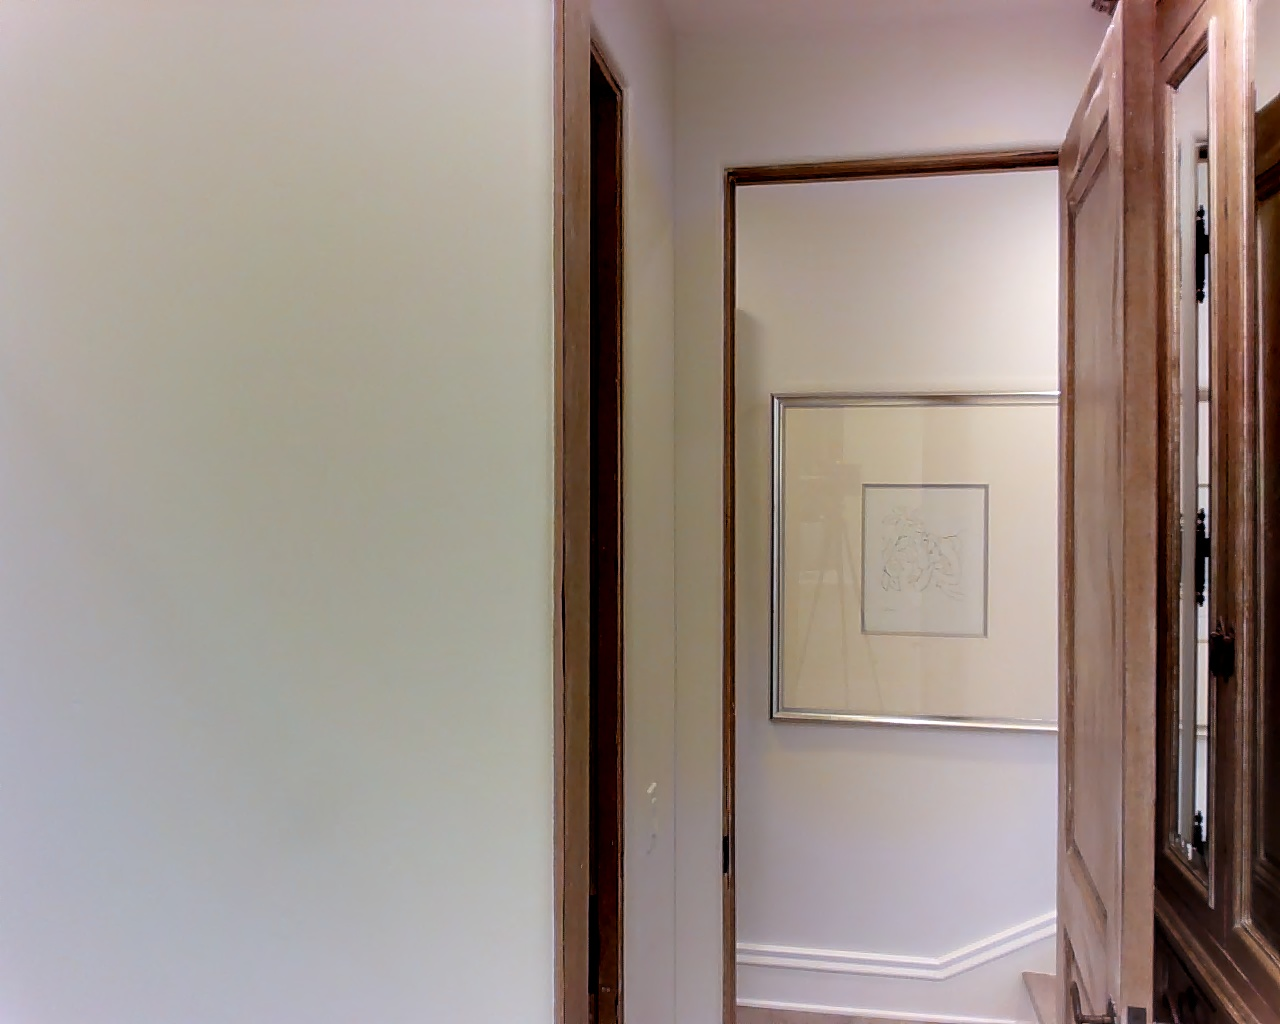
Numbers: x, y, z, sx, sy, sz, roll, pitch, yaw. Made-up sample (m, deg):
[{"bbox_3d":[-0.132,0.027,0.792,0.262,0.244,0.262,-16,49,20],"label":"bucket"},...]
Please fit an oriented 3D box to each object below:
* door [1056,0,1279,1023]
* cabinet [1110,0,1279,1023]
[{"bbox_3d":[0.900,0.470,1.860,0.230,2.471,0.810,0,1,14],"label":"door"},{"bbox_3d":[0.890,-0.120,1.510,0.110,1.811,1.470,0,1,12],"label":"cabinet"}]
